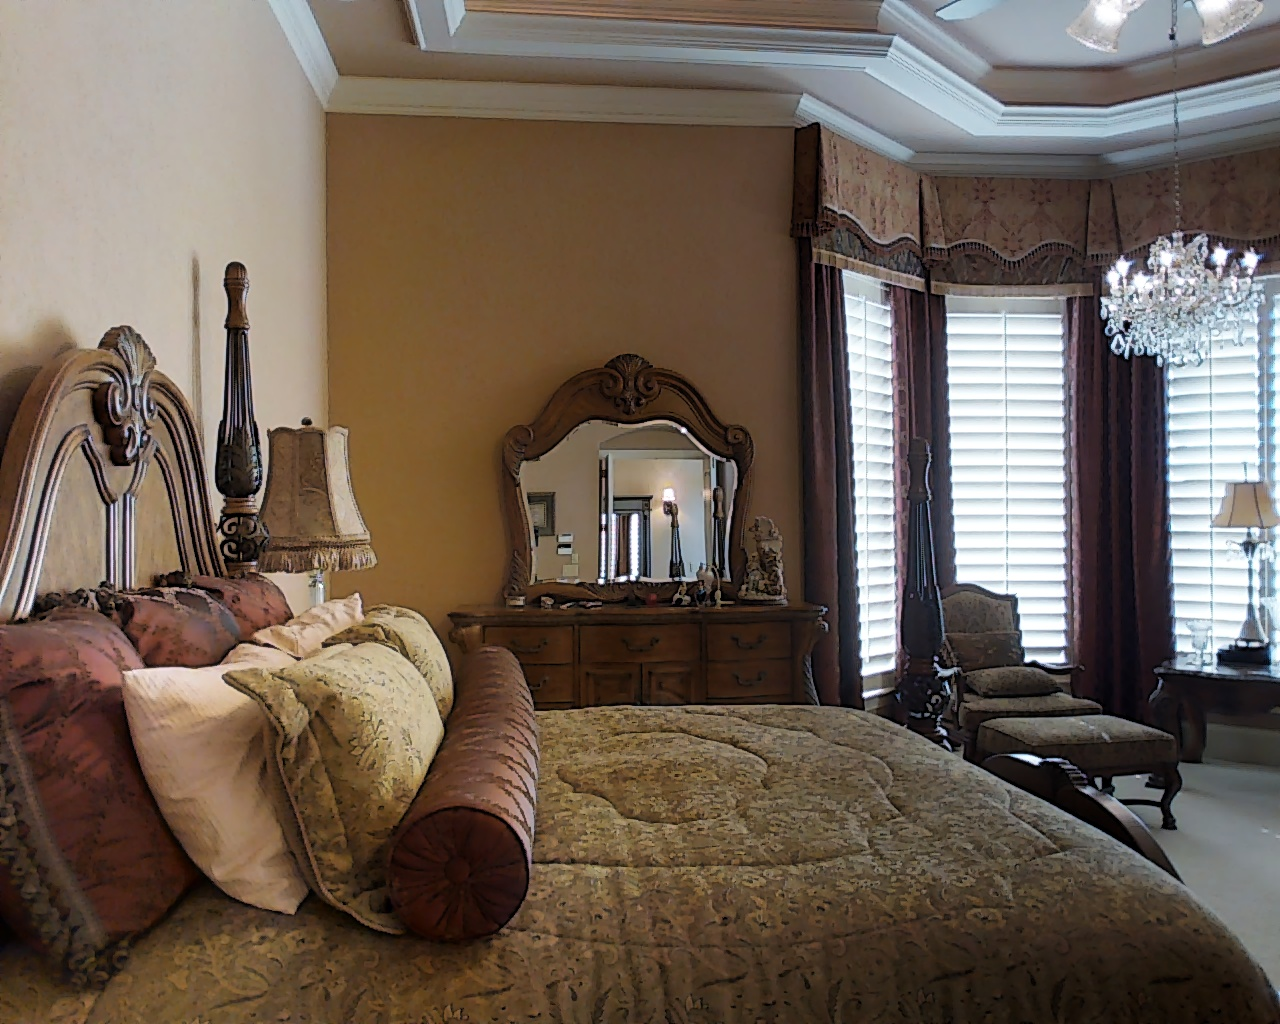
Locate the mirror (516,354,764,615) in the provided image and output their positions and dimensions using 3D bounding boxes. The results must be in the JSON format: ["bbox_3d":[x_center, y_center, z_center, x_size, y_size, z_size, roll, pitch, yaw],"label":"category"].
[{"bbox_3d":[0.000,-0.140,5.510,1.260,1.310,0.130,0,0,-5],"label":"mirror"}]
